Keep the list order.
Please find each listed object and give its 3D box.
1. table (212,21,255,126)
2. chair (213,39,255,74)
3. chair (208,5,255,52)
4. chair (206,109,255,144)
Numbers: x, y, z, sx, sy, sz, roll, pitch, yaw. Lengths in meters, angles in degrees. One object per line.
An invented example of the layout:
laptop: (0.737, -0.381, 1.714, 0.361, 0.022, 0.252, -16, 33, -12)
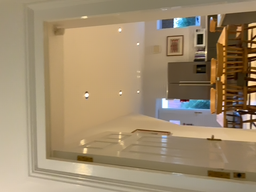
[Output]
table: (1.860, -0.340, 3.550, 0.870, 0.730, 1.530, -10, -79, -72)
chair: (1.720, -0.570, 3.170, 0.530, 0.790, 0.380, 19, -107, -72)
chair: (1.800, -1.100, 3.510, 0.440, 0.860, 0.580, 15, -103, -72)
chair: (1.770, 0.480, 3.500, 0.540, 0.870, 0.460, -6, -83, -73)
